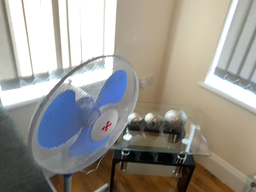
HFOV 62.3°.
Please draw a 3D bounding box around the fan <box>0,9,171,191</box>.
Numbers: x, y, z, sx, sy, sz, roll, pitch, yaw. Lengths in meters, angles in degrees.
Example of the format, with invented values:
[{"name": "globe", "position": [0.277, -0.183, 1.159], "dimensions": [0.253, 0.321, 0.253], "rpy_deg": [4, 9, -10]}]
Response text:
[{"name": "fan", "position": [-0.250, 0.210, 1.000], "dimensions": [0.440, 1.050, 0.530], "rpy_deg": [-19, 40, -35]}]
